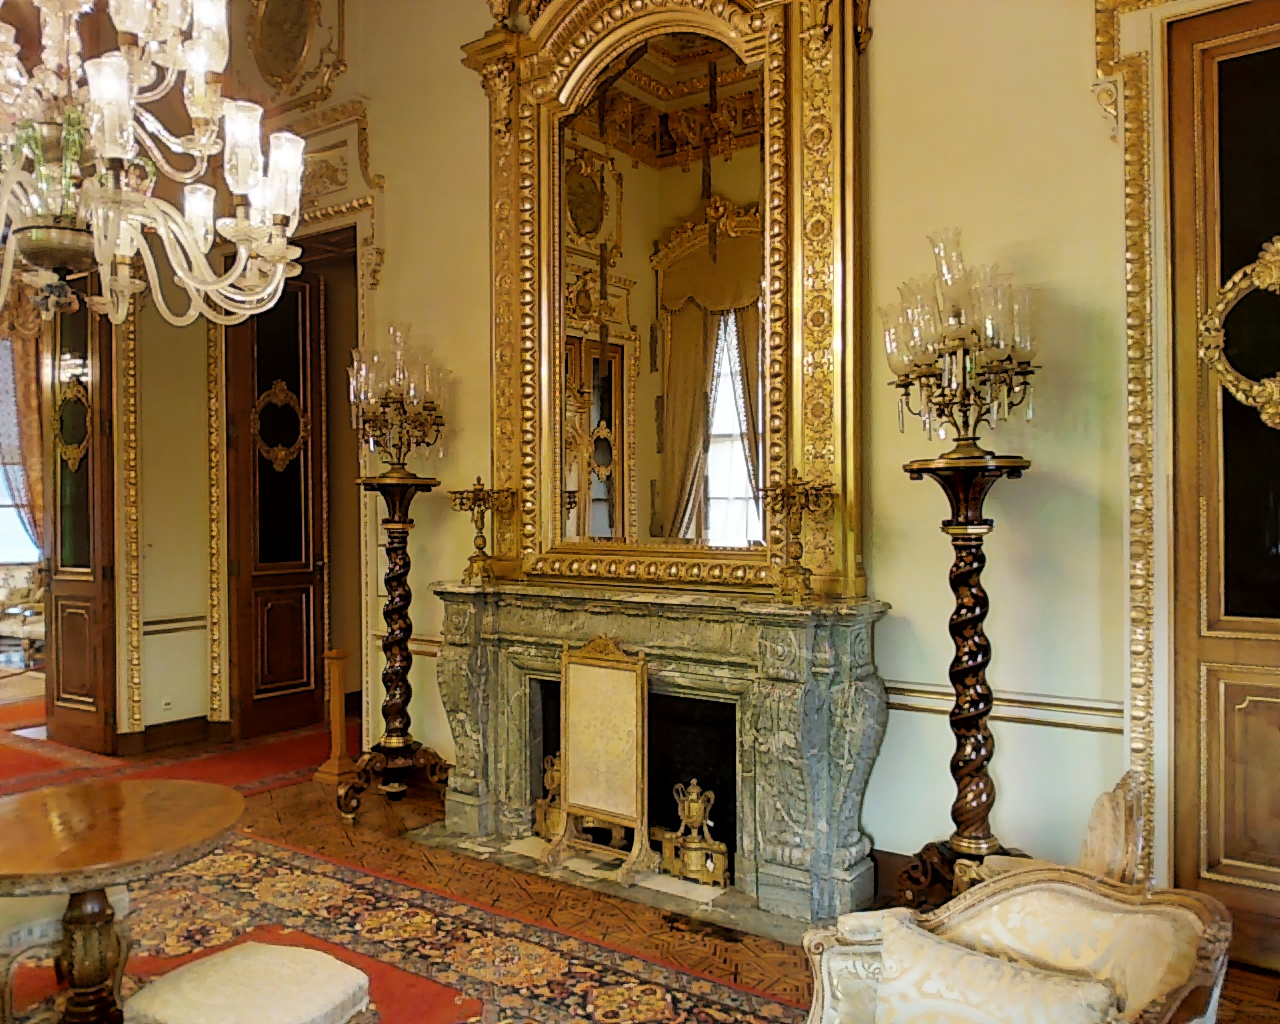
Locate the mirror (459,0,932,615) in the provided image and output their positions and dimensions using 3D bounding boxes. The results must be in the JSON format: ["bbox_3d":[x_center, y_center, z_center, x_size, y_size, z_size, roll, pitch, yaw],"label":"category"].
[{"bbox_3d":[0.140,-1.321,5.190,2.469,3.462,0.360,0,1,37],"label":"mirror"}]

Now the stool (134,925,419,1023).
[{"bbox_3d":[-0.940,1.461,2.820,0.540,0.500,0.460,0,1,28],"label":"stool"}]
